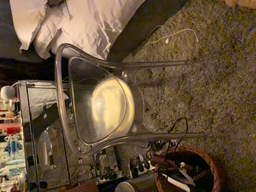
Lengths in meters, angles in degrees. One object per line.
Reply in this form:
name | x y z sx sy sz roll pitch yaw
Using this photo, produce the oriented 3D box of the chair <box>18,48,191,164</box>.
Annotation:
chair | -0.100 0.080 1.160 0.400 0.810 0.400 -24 70 46
